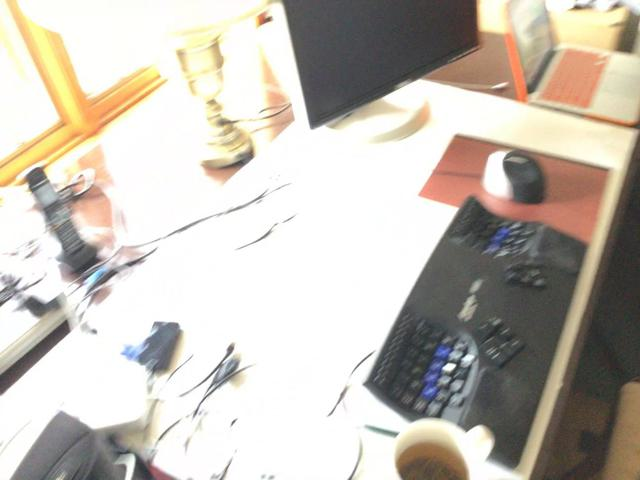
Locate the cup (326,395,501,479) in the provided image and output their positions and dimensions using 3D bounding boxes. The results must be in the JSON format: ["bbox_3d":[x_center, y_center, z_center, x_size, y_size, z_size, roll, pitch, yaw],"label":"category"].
[{"bbox_3d":[0.100,0.260,0.630,0.110,0.120,0.120,-26,22,50],"label":"cup"}]
